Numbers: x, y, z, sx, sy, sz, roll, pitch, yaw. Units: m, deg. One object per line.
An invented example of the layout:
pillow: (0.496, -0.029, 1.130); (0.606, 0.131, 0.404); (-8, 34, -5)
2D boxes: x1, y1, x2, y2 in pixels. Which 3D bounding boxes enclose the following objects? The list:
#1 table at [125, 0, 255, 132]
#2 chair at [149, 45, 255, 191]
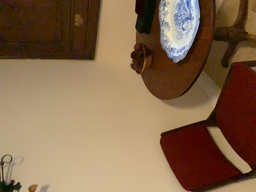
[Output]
table: (0.530, -0.390, 1.330); (0.810, 0.750, 0.810); (-114, 29, -42)
chair: (0.630, 0.130, 1.120); (0.520, 0.780, 0.570); (-114, 29, -42)
